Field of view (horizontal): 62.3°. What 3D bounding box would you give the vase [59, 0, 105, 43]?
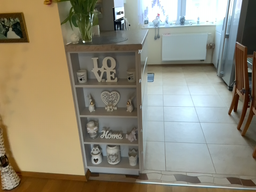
[{"bbox_3d":[-0.310,-0.570,1.490,0.200,0.340,0.290,1,24,9],"label":"vase"}]
